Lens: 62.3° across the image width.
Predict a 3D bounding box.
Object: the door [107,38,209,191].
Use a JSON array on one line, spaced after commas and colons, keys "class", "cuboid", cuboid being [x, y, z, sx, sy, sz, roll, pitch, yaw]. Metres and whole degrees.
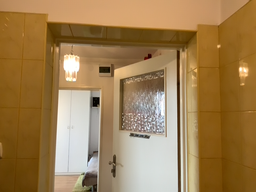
[{"class": "door", "cuboid": [0.150, 0.680, 1.690, 0.140, 2.010, 1.030, 5, -6, -35]}]
